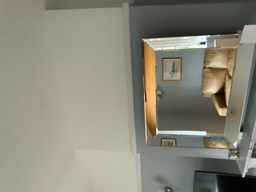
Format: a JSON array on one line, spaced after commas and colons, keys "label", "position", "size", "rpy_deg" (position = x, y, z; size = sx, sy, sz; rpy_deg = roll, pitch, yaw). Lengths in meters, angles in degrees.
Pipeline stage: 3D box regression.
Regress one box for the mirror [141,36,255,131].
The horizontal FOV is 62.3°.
[{"label": "mirror", "position": [0.520, -0.070, 1.720], "size": [0.070, 0.790, 0.780], "rpy_deg": [-70, -21, -60]}]
